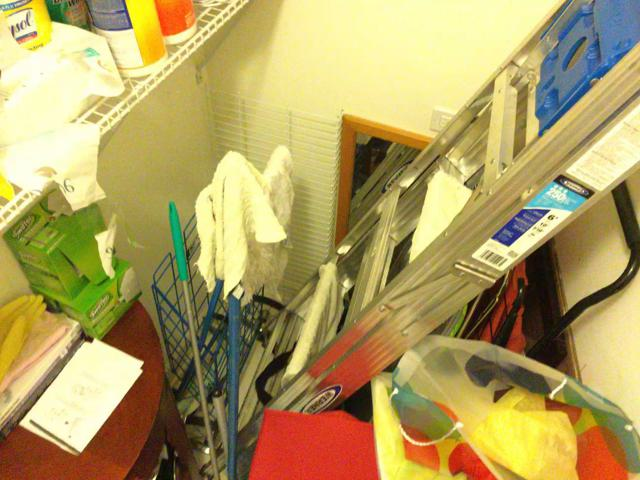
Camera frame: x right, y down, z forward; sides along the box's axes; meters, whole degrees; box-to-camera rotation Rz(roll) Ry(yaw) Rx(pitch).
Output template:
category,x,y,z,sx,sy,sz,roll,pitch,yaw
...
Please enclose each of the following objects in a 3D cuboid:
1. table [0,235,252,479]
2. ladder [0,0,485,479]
category,x,y,z,sx,sy,sz,roll,pitch,yaw
table,-0.580,0.580,1.430,0.490,0.830,0.700,20,50,15
ladder,0.090,0.110,1.320,0.160,1.700,0.540,-7,46,27
